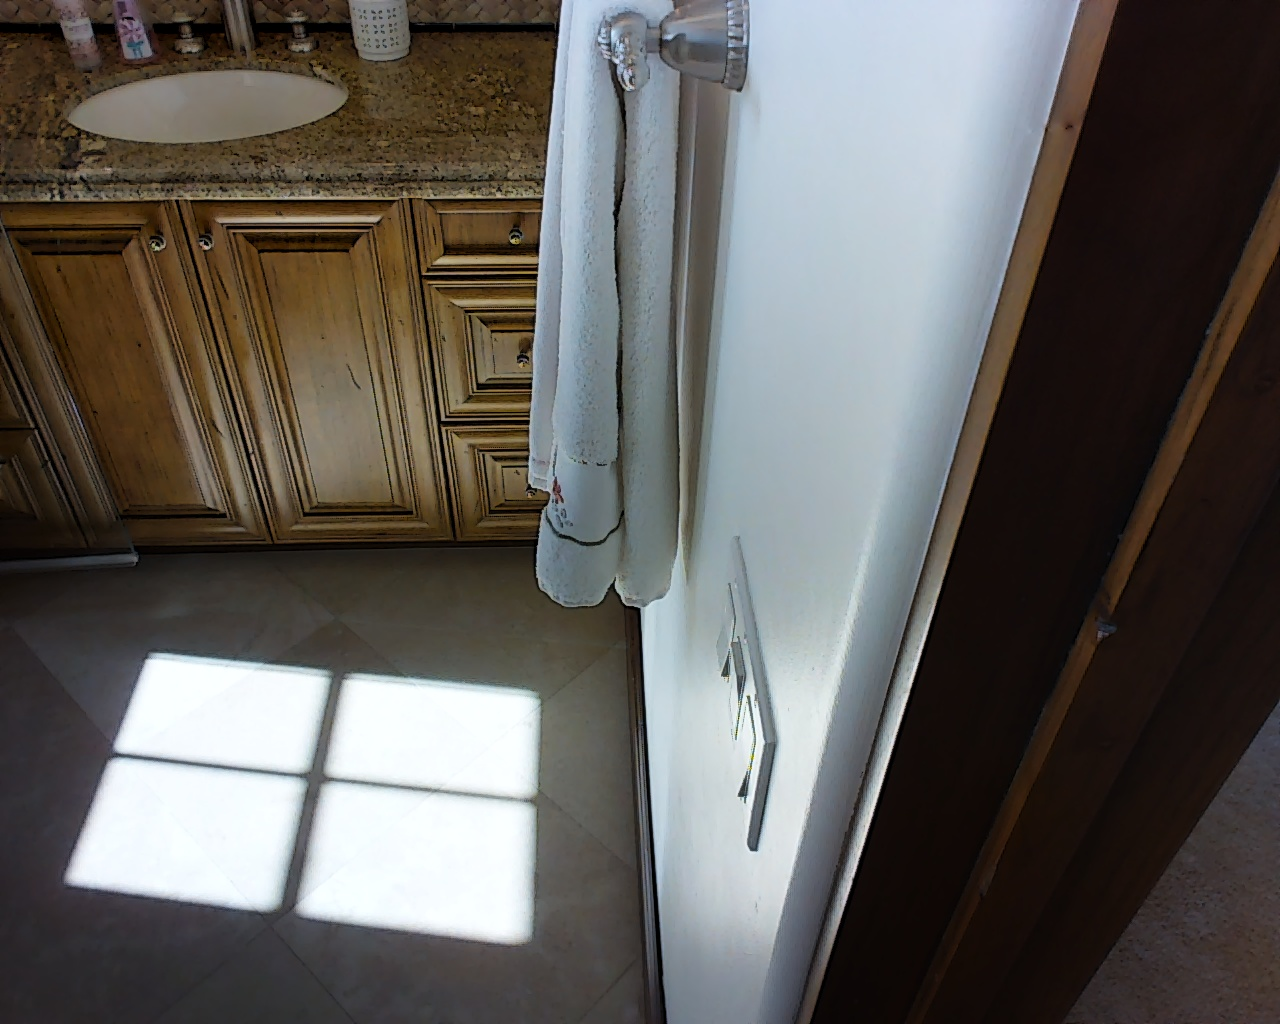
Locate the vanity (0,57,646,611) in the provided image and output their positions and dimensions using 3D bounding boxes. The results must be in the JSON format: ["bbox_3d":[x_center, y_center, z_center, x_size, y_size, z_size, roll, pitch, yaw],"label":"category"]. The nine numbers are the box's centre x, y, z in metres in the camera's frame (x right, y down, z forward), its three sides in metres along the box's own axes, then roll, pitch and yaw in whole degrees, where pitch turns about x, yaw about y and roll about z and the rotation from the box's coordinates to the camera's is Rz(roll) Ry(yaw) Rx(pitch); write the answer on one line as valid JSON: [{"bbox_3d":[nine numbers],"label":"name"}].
[{"bbox_3d":[-0.730,-0.350,2.140,1.440,0.870,0.640,-1,41,-2],"label":"vanity"}]

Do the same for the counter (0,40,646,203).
[{"bbox_3d":[-0.730,-0.690,1.840,1.450,0.020,0.670,-1,41,-2],"label":"counter"}]

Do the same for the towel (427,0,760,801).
[{"bbox_3d":[-0.050,-0.280,1.150,0.180,0.740,0.870,-1,41,-3],"label":"towel"}]
